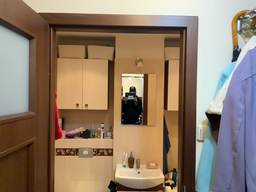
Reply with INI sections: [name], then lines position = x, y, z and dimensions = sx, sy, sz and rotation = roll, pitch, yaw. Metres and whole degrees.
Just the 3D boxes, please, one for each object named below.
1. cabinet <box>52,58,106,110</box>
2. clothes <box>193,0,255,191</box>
[cabinet]
position = -0.580, -0.140, 2.580
dimensions = 0.600, 0.600, 0.210
rotation = 1, 1, -1
[clothes]
position = 0.540, 0.070, 1.000
dimensions = 0.310, 1.040, 0.400
rotation = 1, 1, -2
